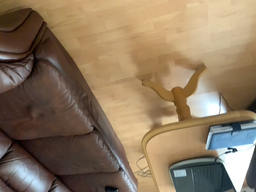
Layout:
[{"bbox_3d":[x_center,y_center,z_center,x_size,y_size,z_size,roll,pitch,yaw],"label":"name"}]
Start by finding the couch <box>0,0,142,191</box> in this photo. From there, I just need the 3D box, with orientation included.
[{"bbox_3d":[-0.610,0.570,1.480,1.050,0.940,2.050,-14,133,7],"label":"couch"}]
